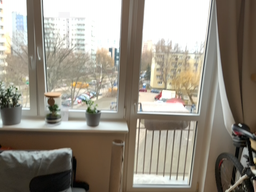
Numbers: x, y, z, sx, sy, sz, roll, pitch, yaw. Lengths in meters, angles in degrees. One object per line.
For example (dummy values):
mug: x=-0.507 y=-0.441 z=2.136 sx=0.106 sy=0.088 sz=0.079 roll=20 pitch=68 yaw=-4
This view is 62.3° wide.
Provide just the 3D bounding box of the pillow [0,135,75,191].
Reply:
pillow: x=-0.770 y=0.640 z=1.640 sx=0.530 sy=0.430 sz=0.200 roll=29 pitch=6 yaw=-8

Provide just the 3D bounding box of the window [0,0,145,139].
window: x=-0.700 y=-0.490 z=1.980 sx=1.640 sy=1.800 sz=0.160 roll=2 pitch=12 yaw=-5
